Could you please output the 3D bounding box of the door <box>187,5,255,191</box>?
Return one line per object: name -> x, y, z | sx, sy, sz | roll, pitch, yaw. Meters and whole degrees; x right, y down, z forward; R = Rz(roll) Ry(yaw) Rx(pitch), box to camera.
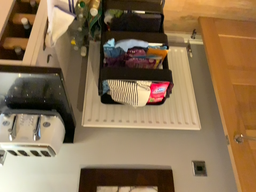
door -> 0.930, 0.250, 1.330 | 0.780, 2.060, 0.170 | 4, 152, -9
